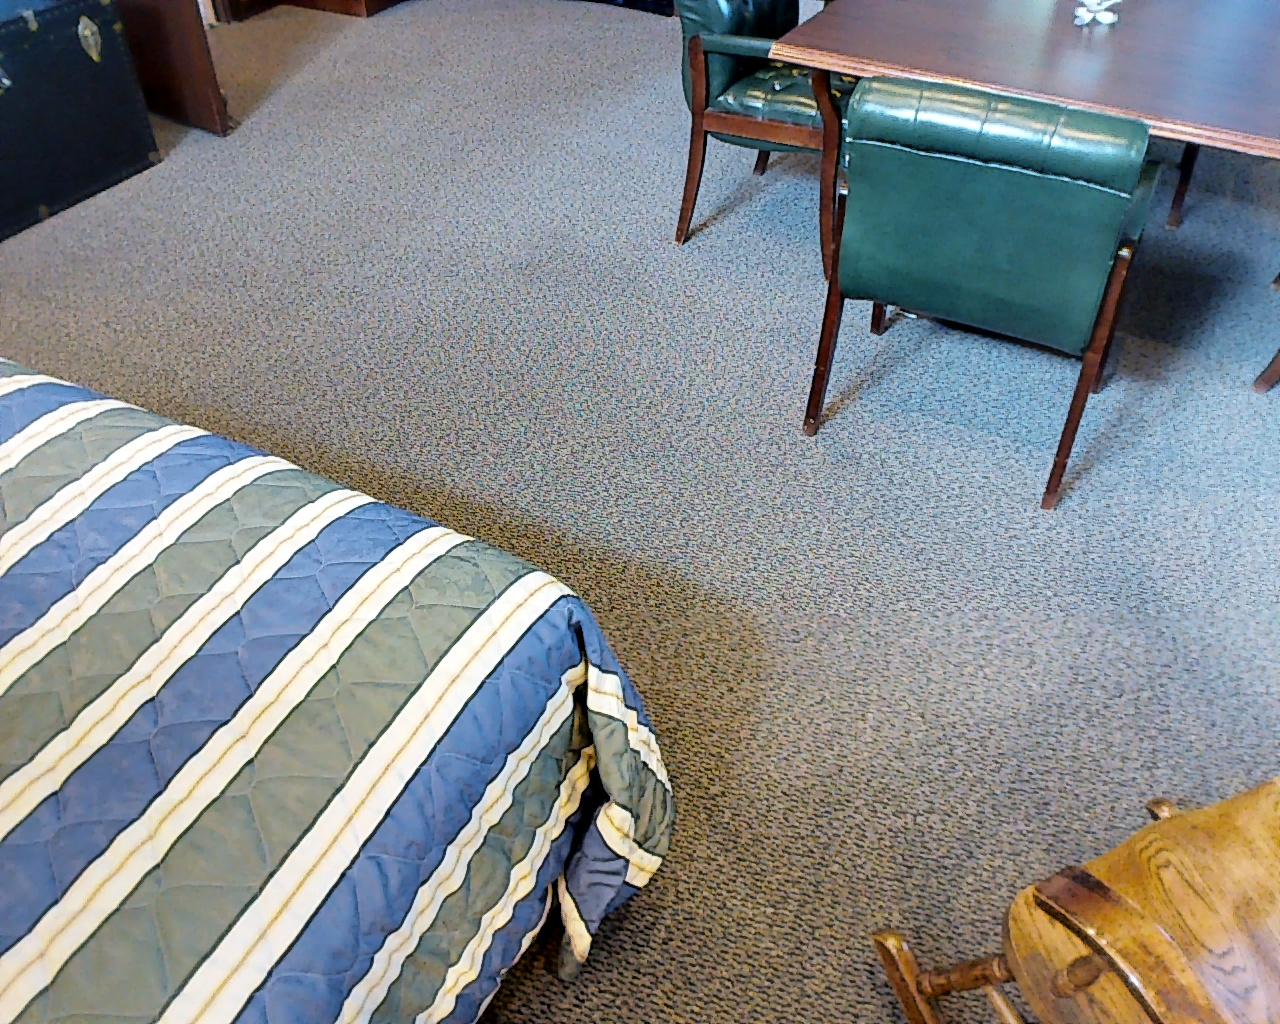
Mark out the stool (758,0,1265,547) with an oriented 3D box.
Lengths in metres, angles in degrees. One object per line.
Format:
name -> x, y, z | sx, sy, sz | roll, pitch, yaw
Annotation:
stool -> 0.780, -0.580, 2.390 | 0.710, 0.860, 0.740 | 22, 46, 23

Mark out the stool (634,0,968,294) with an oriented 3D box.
stool -> 0.470, -1.270, 3.160 | 0.740, 0.880, 0.680 | 19, 45, 20
